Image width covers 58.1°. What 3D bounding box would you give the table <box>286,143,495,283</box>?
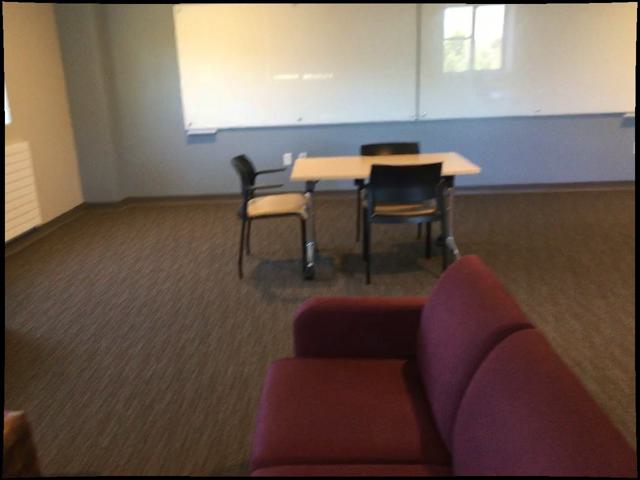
[{"bbox_3d":[0.479,-0.231,4.200,1.317,0.752,0.910,-2,18,3],"label":"table"}]
